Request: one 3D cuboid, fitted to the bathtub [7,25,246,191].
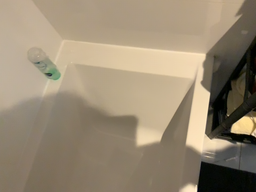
[{"bbox_3d":[-0.030,0.460,1.030,0.780,0.570,1.390,12,73,14],"label":"bathtub"}]
